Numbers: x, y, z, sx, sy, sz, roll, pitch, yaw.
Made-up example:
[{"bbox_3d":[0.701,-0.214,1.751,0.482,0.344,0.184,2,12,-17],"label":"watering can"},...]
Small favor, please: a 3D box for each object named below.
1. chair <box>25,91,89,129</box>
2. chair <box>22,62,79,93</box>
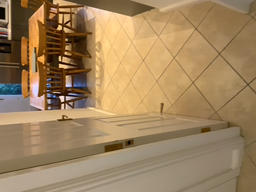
[{"bbox_3d":[-1.150,0.190,3.450,0.540,0.850,0.440,21,108,52],"label":"chair"},{"bbox_3d":[-1.380,-0.300,3.770,0.590,0.810,0.450,-4,88,54],"label":"chair"}]
